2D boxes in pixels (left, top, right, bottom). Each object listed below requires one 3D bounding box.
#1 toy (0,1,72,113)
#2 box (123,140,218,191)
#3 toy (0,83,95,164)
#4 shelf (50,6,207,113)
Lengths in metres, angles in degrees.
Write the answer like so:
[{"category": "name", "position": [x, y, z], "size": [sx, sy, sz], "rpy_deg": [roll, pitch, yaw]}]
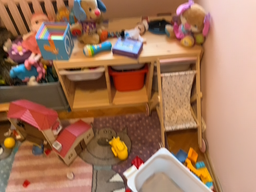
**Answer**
[{"category": "toy", "position": [-0.800, -0.290, 1.610], "size": [0.540, 0.570, 0.600], "rpy_deg": [-2, 50, 0]}, {"category": "box", "position": [0.240, 0.540, 1.180], "size": [0.330, 0.190, 0.450], "rpy_deg": [-30, 56, -22]}, {"category": "toy", "position": [-0.510, 0.180, 1.390], "size": [0.460, 0.350, 0.280], "rpy_deg": [12, 51, 11]}, {"category": "shelf", "position": [-0.010, -0.290, 1.670], "size": [0.960, 0.510, 0.590], "rpy_deg": [-4, 50, -2]}]
